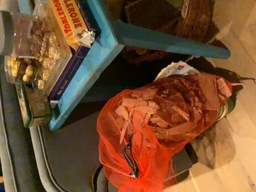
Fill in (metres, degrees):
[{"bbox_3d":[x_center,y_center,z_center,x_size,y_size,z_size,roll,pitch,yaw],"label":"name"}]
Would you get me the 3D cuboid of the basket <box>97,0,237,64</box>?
[{"bbox_3d":[0.170,-0.470,1.070,0.380,0.450,0.440,-43,62,40],"label":"basket"}]
